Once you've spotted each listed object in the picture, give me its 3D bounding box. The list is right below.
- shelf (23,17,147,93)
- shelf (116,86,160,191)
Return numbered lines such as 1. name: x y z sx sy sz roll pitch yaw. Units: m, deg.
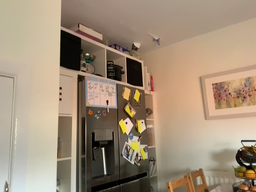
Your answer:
1. shelf: -0.350 -0.350 2.400 0.330 0.420 1.480 -10 -12 38
2. shelf: 0.130 0.830 2.740 0.340 1.840 0.410 -10 -12 38
